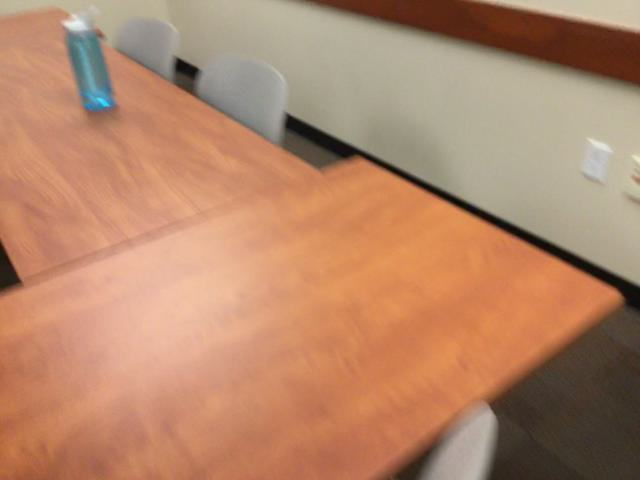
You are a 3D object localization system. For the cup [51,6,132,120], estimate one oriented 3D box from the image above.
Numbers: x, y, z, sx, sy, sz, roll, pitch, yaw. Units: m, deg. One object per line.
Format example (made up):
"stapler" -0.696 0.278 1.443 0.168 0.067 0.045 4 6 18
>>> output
"cup" -0.590 -0.460 1.500 0.110 0.250 0.110 -25 40 -31
